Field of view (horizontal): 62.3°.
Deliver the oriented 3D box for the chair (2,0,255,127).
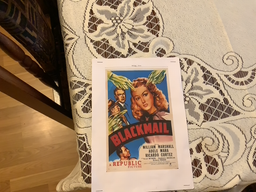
[{"bbox_3d":[-0.030,-0.190,0.840,0.470,0.910,0.430,-10,75,-7],"label":"chair"}]
